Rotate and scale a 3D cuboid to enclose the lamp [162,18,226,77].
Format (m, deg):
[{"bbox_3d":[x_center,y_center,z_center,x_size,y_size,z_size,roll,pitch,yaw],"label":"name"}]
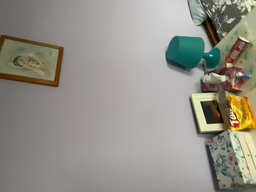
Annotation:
[{"bbox_3d":[0.390,-0.290,1.300,0.190,0.280,0.230,126,148,-52],"label":"lamp"}]
